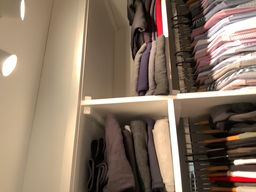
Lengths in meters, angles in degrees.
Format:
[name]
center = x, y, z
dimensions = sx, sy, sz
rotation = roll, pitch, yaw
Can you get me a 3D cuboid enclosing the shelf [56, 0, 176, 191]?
[shelf]
center = 0.000, -0.280, 1.160
dimensions = 0.550, 0.380, 2.310
rotation = 64, -155, -67
